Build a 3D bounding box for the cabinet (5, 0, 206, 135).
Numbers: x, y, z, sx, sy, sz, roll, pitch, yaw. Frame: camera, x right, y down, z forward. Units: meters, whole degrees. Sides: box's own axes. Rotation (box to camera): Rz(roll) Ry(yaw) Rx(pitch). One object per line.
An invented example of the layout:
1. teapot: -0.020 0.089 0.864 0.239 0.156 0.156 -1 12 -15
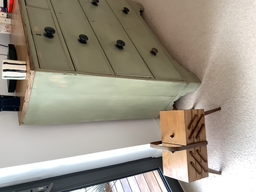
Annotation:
1. cabinet: -0.240 -0.380 1.660 0.470 1.160 1.160 -58 46 37
